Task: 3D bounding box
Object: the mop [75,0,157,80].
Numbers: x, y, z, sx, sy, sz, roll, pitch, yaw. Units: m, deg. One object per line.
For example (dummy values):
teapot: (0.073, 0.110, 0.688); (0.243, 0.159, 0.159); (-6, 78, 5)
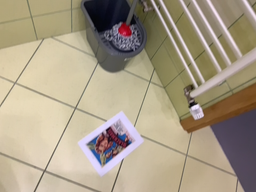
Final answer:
mop: (-0.090, -0.350, 1.200); (0.290, 0.290, 0.360); (-21, 77, -21)
